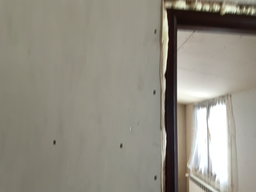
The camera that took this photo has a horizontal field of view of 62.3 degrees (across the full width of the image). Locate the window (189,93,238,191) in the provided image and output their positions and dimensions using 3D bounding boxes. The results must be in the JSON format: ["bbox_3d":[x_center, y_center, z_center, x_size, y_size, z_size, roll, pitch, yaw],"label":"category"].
[{"bbox_3d":[1.430,0.790,3.780,0.160,1.500,1.420,2,-7,-5],"label":"window"}]
